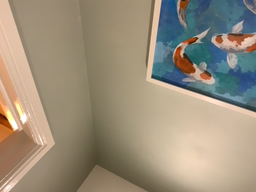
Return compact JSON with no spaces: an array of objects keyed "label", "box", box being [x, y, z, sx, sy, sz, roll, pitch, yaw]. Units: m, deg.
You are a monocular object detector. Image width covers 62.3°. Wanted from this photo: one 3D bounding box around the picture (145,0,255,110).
[{"label":"picture","box":[0.270,-0.180,0.640,0.430,0.420,0.020,21,-135,19]}]
